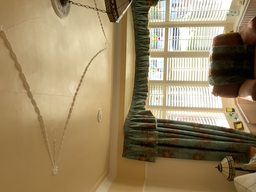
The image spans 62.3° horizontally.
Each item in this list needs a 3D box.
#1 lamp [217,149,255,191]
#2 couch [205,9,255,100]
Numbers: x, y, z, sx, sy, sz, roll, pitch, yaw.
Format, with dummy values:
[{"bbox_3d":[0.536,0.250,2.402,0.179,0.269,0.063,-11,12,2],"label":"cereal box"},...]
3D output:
[{"bbox_3d":[1.450,1.020,2.820,0.250,0.430,0.560,42,-130,-79],"label":"lamp"},{"bbox_3d":[1.770,-0.520,3.130,1.000,0.980,1.130,4,-93,-81],"label":"couch"}]
